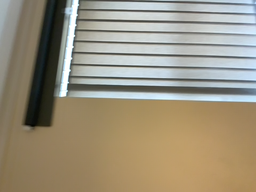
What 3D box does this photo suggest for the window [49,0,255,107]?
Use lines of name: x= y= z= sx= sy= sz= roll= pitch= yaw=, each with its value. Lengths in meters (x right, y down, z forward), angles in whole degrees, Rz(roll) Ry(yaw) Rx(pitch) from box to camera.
window: x=0.240 y=-0.480 z=1.330 sx=0.080 sy=1.300 sz=1.080 roll=92 pitch=180 yaw=-73
